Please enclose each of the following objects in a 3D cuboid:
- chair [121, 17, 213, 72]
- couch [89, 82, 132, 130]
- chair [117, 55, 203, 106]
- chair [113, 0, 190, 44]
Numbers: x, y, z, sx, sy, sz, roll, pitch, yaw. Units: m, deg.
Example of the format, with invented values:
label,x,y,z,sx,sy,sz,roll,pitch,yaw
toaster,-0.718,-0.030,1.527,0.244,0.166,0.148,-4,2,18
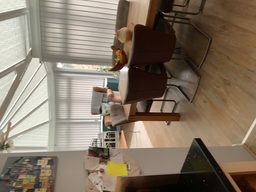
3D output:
label,x,y,z,sx,sy,sz,roll,pitch,yaw
chair,0.410,-0.610,2.510,0.540,0.870,0.420,-111,27,-56
couch,-0.540,0.260,5.840,0.870,0.990,0.990,-114,29,-59
chair,0.360,-0.200,2.670,0.540,0.870,0.410,-111,27,-56
chair,0.290,-1.050,2.980,0.540,0.890,0.410,-110,26,-55
